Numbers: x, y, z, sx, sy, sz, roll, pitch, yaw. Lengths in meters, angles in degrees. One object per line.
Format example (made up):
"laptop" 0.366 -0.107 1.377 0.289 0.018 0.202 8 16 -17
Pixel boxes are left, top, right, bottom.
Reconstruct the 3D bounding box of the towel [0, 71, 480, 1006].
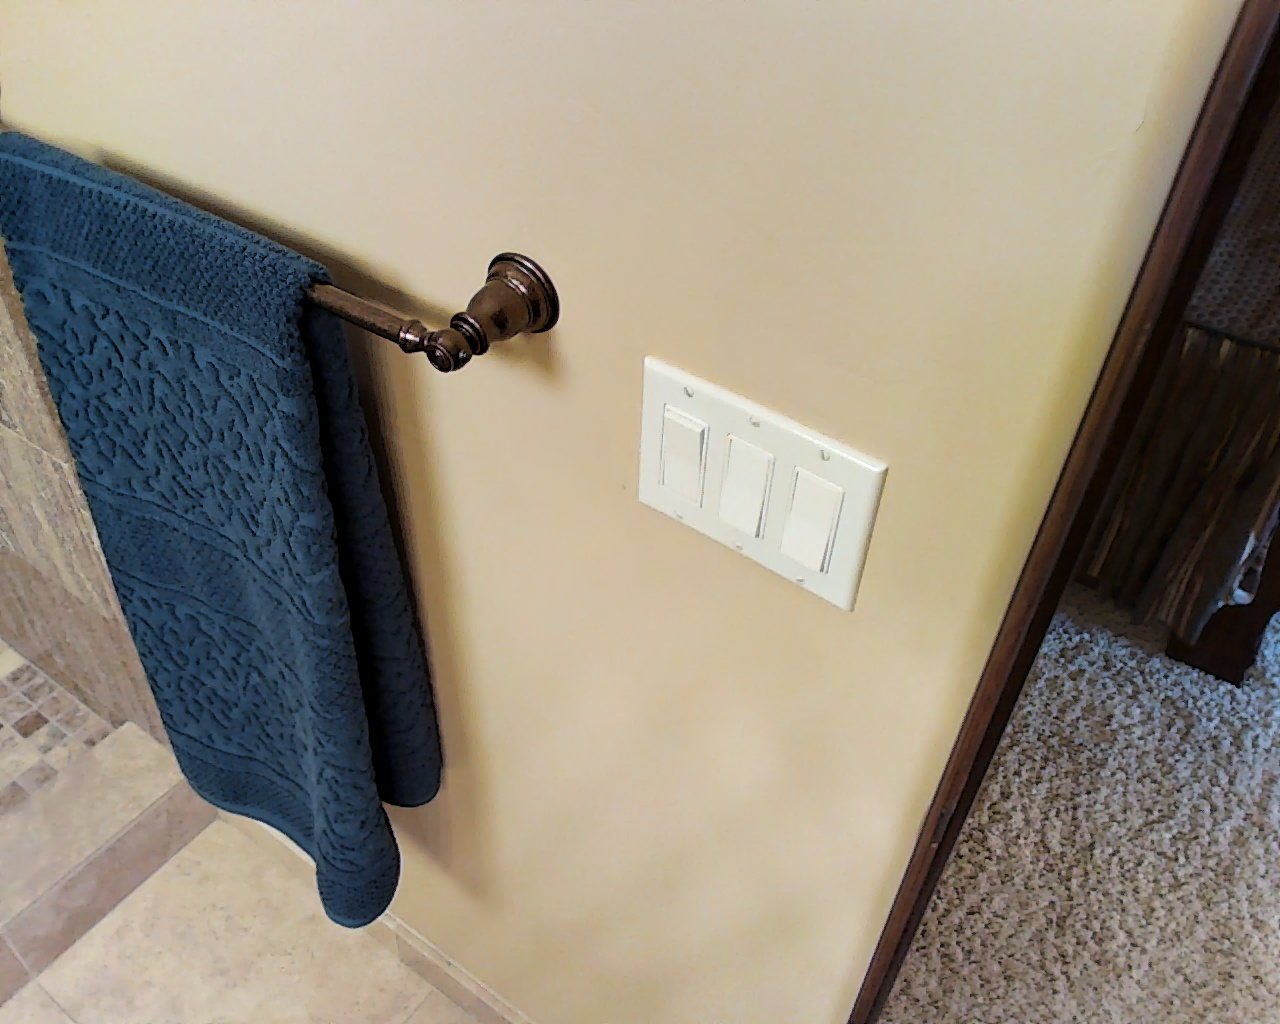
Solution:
"towel" -0.390 0.080 0.990 0.410 0.810 0.190 27 47 24
